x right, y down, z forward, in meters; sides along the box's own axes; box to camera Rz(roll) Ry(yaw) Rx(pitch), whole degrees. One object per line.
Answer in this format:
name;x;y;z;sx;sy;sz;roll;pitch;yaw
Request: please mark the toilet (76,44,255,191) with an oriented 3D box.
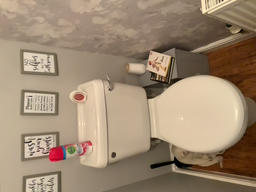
toilet;0.240;0.110;1.110;0.690;0.770;0.450;-11;81;53
